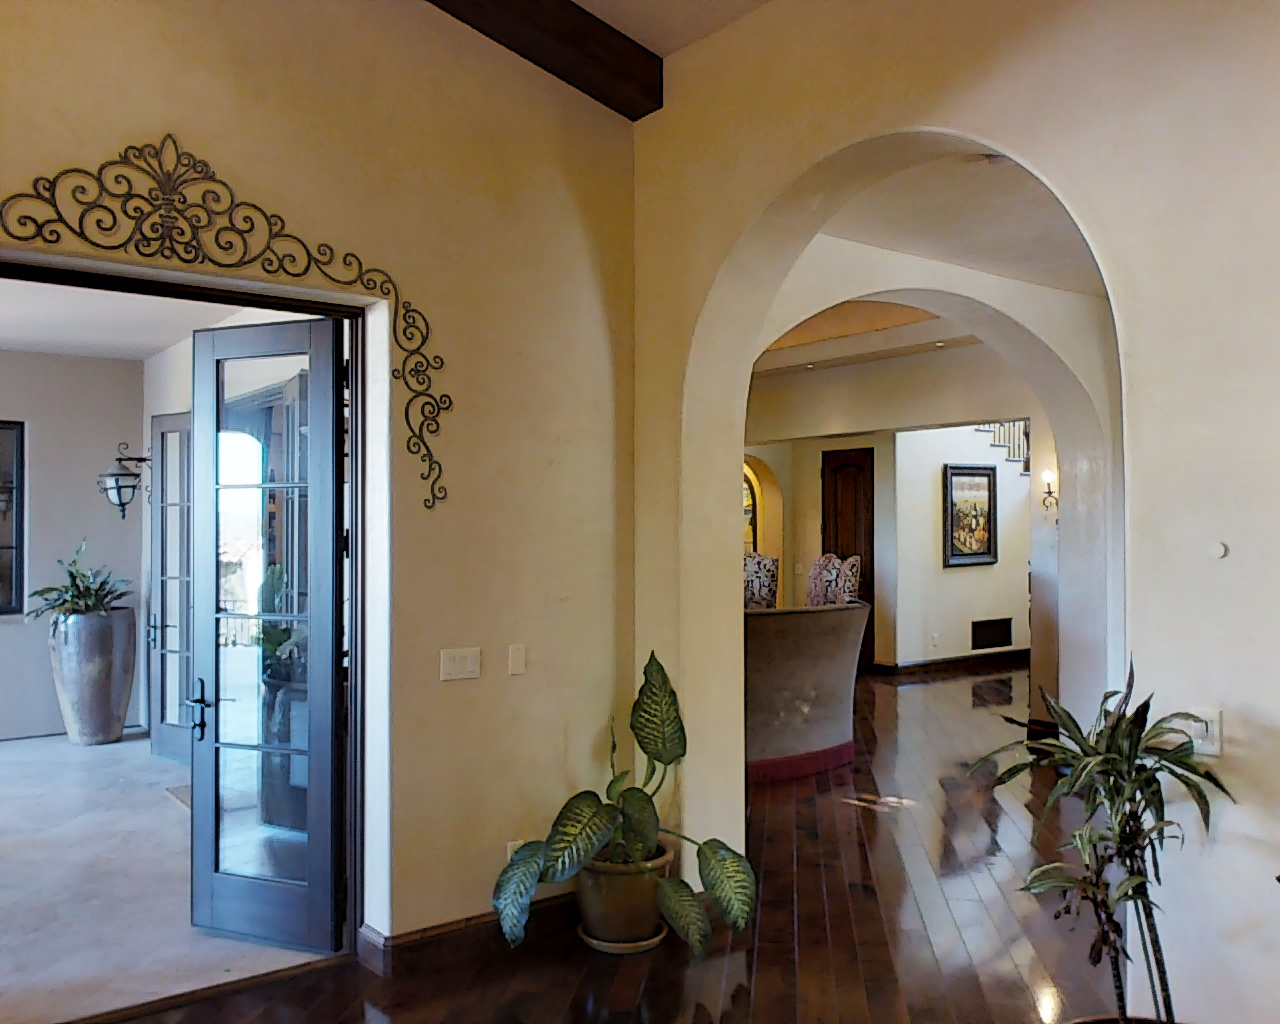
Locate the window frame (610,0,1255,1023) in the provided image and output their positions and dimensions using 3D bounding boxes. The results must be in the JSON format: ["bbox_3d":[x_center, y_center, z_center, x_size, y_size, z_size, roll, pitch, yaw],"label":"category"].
[{"bbox_3d":[0.670,0.000,3.470,0.180,3.210,2.410,1,-1,-37],"label":"window frame"}]

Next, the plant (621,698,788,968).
[{"bbox_3d":[0.240,1.190,4.110,0.380,0.840,0.540,1,-1,-37],"label":"plant"}]
